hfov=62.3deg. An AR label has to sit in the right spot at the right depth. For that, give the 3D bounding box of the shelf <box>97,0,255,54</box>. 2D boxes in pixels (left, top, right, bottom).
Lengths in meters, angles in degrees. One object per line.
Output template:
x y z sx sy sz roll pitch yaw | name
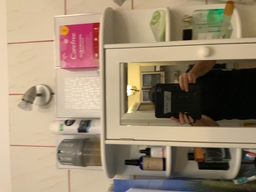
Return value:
0.220 -0.230 0.650 0.170 0.600 0.150 -12 -79 -81 | shelf

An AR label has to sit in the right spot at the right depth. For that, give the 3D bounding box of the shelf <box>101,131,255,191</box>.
0.220 0.200 0.670 0.160 0.580 0.140 -12 -79 -81 | shelf

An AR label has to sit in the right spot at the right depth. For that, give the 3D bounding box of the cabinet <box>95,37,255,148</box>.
0.210 -0.010 0.660 0.170 0.590 0.290 -12 -79 -81 | cabinet
